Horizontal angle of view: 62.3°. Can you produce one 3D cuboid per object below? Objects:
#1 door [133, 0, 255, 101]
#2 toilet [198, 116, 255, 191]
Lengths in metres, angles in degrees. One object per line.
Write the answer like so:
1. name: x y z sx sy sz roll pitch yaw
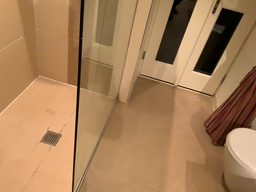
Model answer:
1. door: 0.690 -0.780 1.890 0.920 1.820 0.060 17 39 3
2. toilet: 0.870 0.500 1.460 0.580 0.440 0.380 16 39 1
